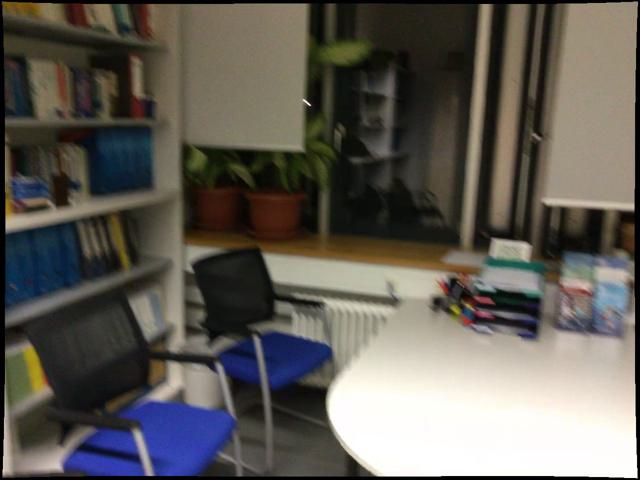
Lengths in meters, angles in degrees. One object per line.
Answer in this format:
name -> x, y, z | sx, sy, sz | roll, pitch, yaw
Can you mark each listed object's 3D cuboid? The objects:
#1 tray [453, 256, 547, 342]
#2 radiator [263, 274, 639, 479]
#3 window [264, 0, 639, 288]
tray -> 0.759, 0.230, 2.410 | 0.330, 0.200, 0.390 | 6, 15, 20
radiator -> 0.969, 0.661, 2.690 | 2.598, 0.631, 0.300 | 6, 15, 20
window -> 1.518, -0.751, 2.450 | 3.557, 1.812, 0.710 | 6, 15, 20
